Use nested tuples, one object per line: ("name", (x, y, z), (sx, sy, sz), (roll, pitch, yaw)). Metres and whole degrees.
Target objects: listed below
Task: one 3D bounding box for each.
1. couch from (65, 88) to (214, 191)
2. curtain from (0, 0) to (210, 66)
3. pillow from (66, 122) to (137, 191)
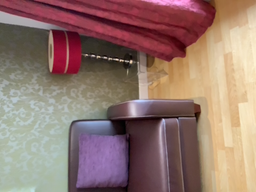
("couch", (0.040, 0.980, 1.550), (0.800, 0.830, 1.930), (-17, 73, 62))
("curtain", (-0.300, -0.490, 1.390), (0.550, 1.680, 0.260), (-27, 64, 60))
("pillow", (-0.200, 0.490, 1.640), (0.140, 0.400, 0.450), (-21, 87, 58))
